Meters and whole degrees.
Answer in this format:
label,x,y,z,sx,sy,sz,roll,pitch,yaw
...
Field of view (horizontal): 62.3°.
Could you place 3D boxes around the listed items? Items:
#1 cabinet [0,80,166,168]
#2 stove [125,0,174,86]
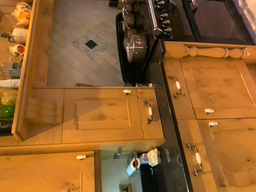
label,x,y,z,sx,sy,sz,roll,pitch,yaw
cabinet,-0.490,0.210,1.570,0.460,1.380,0.470,110,156,-59
stove,0.150,-0.730,2.060,0.640,0.140,1.080,110,156,-59
